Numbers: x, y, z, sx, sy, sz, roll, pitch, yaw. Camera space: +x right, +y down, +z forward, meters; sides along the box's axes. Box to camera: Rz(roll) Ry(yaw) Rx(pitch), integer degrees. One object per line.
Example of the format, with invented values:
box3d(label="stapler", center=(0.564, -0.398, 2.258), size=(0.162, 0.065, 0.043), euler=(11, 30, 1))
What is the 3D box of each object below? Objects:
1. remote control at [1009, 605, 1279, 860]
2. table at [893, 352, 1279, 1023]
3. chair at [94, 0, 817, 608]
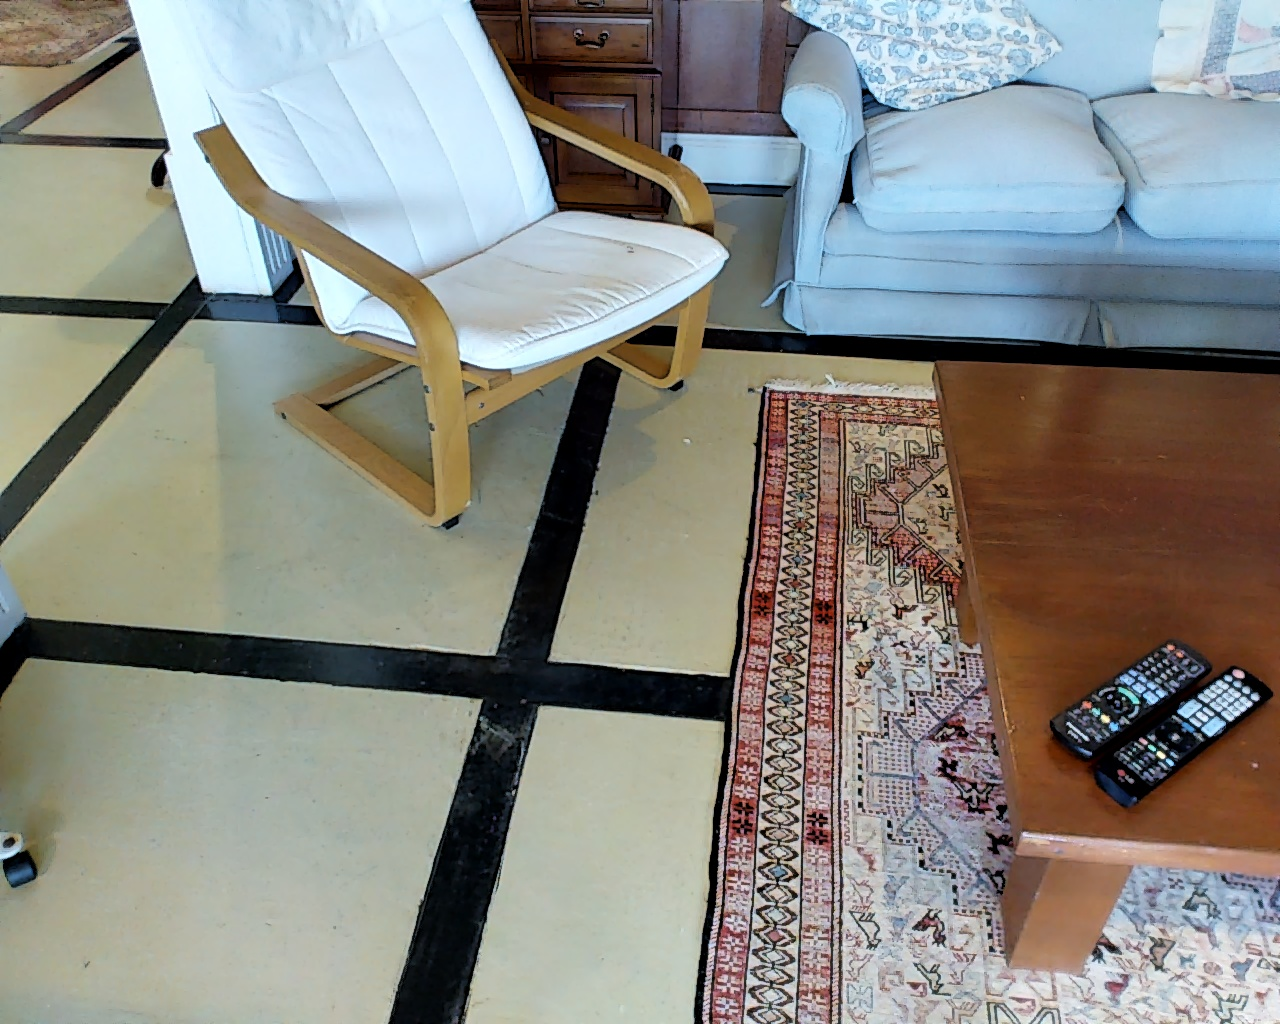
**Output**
box3d(label="remote control", center=(0.530, 0.210, 1.080), size=(0.280, 0.030, 0.160), euler=(-26, 46, -27))
box3d(label="table", center=(0.800, 0.240, 1.380), size=(0.830, 0.430, 0.900), euler=(4, 40, 6))
box3d(label="chair", center=(-0.310, -0.600, 1.980), size=(0.910, 0.990, 0.790), euler=(31, 50, 33))
